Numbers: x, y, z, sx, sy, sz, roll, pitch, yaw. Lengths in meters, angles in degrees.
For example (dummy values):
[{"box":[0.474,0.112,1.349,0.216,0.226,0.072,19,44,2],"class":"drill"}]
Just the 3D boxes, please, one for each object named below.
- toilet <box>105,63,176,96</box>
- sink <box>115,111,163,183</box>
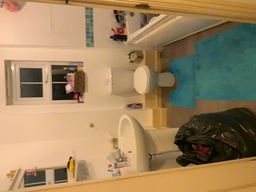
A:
[{"box":[0.130,-0.210,2.750,0.640,0.750,0.370,-168,77,-72],"class":"toilet"},{"box":[0.060,0.370,1.740,0.560,0.210,0.420,-167,76,-72],"class":"sink"}]
